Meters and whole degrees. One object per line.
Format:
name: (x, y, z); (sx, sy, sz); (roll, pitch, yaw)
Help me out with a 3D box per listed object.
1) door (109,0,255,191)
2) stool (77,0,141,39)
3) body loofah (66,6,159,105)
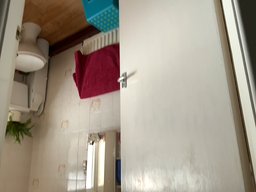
door: (0.190, -0.170, 0.930); (0.120, 2.020, 1.050); (7, 161, -28)
stool: (-0.170, -0.780, 1.900); (0.440, 0.270, 0.340); (-14, 160, 35)
body loofah: (-0.190, -0.330, 2.000); (0.950, 0.660, 0.150); (-13, 160, 33)
